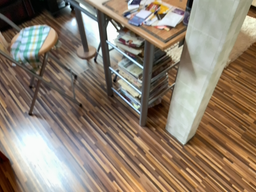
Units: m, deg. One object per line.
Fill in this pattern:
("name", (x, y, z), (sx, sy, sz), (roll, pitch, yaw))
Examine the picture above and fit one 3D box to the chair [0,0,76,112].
("chair", (-0.650, -0.260, 1.480), (0.400, 0.750, 0.330), (-5, 51, -4))
